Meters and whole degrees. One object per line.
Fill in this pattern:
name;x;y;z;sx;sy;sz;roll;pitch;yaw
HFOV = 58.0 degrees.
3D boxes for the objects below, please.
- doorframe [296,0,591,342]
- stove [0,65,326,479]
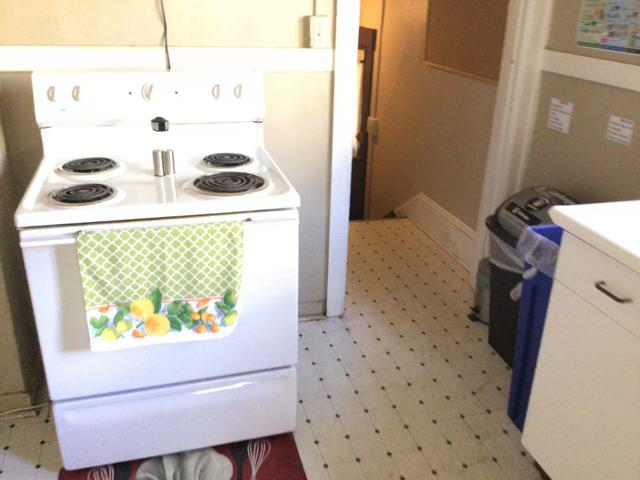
doorframe;0.470;-0.640;2.500;0.960;2.020;0.620;-3;22;-14
stove;-0.520;0.060;2.000;0.840;1.190;0.790;-3;22;-14
